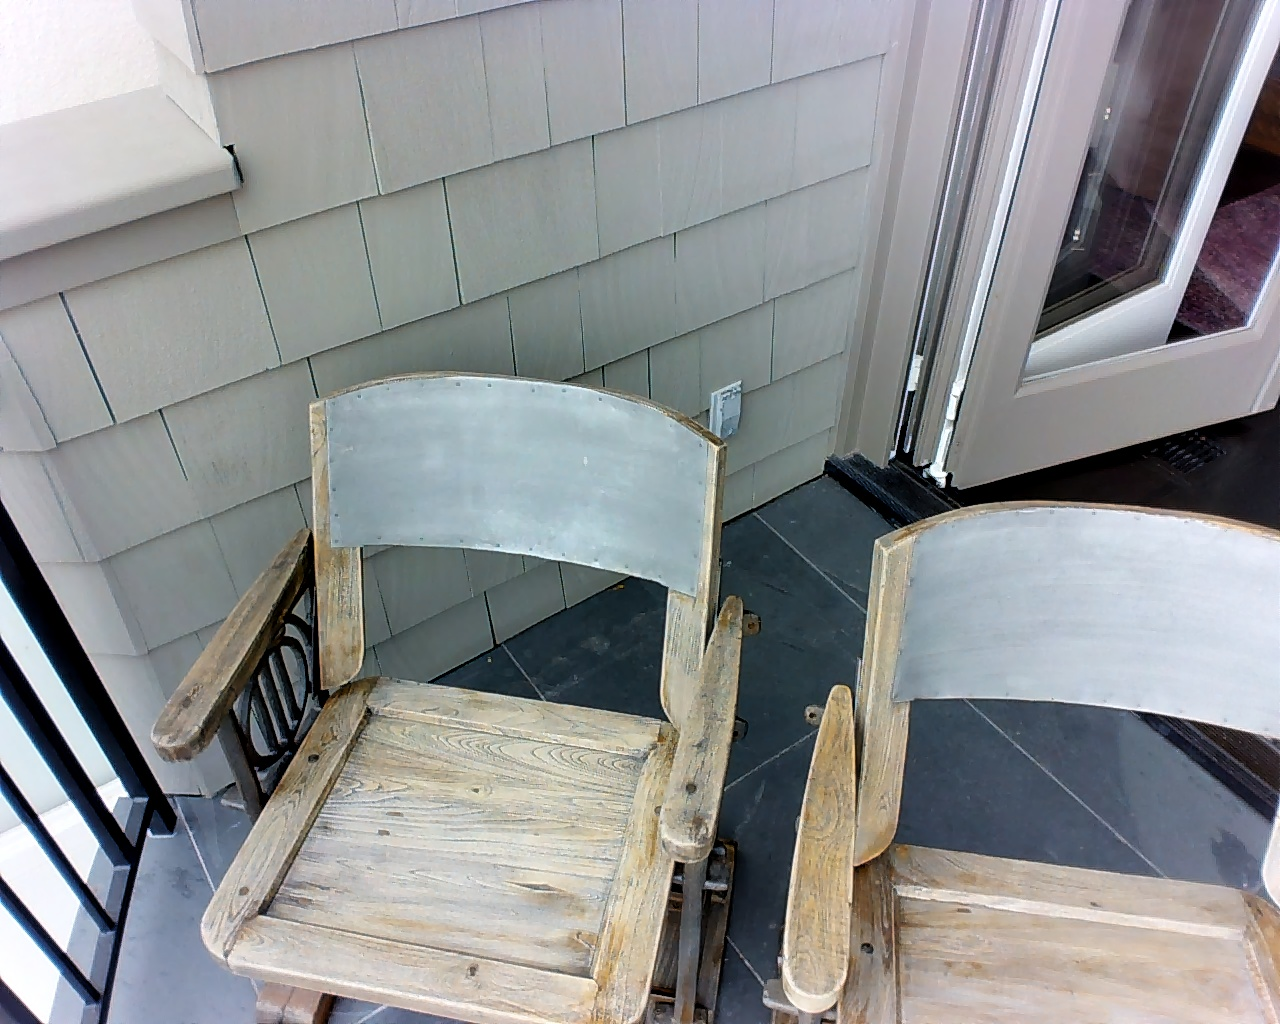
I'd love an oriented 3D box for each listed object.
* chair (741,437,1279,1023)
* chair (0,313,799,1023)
[{"bbox_3d":[0.460,0.470,1.190,0.650,0.820,0.670,5,42,5],"label":"chair"},{"bbox_3d":[-0.200,0.310,1.370,0.680,0.820,0.680,7,42,7],"label":"chair"}]
